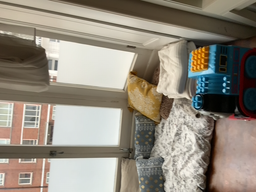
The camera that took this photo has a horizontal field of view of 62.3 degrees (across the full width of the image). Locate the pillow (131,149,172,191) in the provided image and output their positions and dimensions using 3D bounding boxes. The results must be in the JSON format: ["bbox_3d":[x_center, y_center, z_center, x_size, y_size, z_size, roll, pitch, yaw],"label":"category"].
[{"bbox_3d":[0.200,0.760,1.920,0.110,0.240,0.490,92,-161,-73],"label":"pillow"}]

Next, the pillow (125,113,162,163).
[{"bbox_3d":[0.160,0.410,2.100,0.100,0.210,0.430,51,-119,-80],"label":"pillow"}]

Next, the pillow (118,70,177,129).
[{"bbox_3d":[0.170,0.020,2.020,0.170,0.470,0.380,-33,-40,-50],"label":"pillow"}]
